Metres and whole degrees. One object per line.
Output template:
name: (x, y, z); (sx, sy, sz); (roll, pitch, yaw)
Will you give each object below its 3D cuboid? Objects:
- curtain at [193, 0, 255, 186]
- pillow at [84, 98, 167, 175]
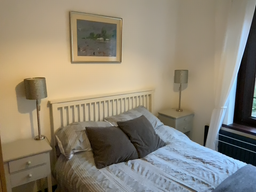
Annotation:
curtain: (1.160, -0.130, 2.660); (0.150, 2.450, 0.550); (-8, 13, -35)
pillow: (-0.010, 0.430, 2.290); (0.880, 0.430, 0.210); (-32, 62, -21)
